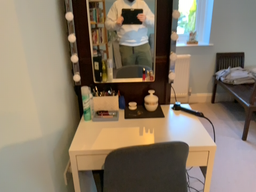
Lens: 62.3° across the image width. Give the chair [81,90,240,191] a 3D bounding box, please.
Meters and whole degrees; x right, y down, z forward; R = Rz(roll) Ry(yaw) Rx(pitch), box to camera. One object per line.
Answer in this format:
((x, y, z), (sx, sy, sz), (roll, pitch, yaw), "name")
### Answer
((0.110, 0.500, 1.220), (0.590, 0.890, 0.590), (-3, 23, -4), "chair")
